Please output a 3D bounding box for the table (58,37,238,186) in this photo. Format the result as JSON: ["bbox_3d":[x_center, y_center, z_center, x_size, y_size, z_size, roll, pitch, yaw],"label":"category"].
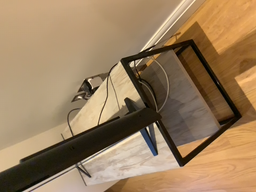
[{"bbox_3d":[-0.020,0.180,1.220,0.420,0.410,1.020,61,143,9],"label":"table"}]
